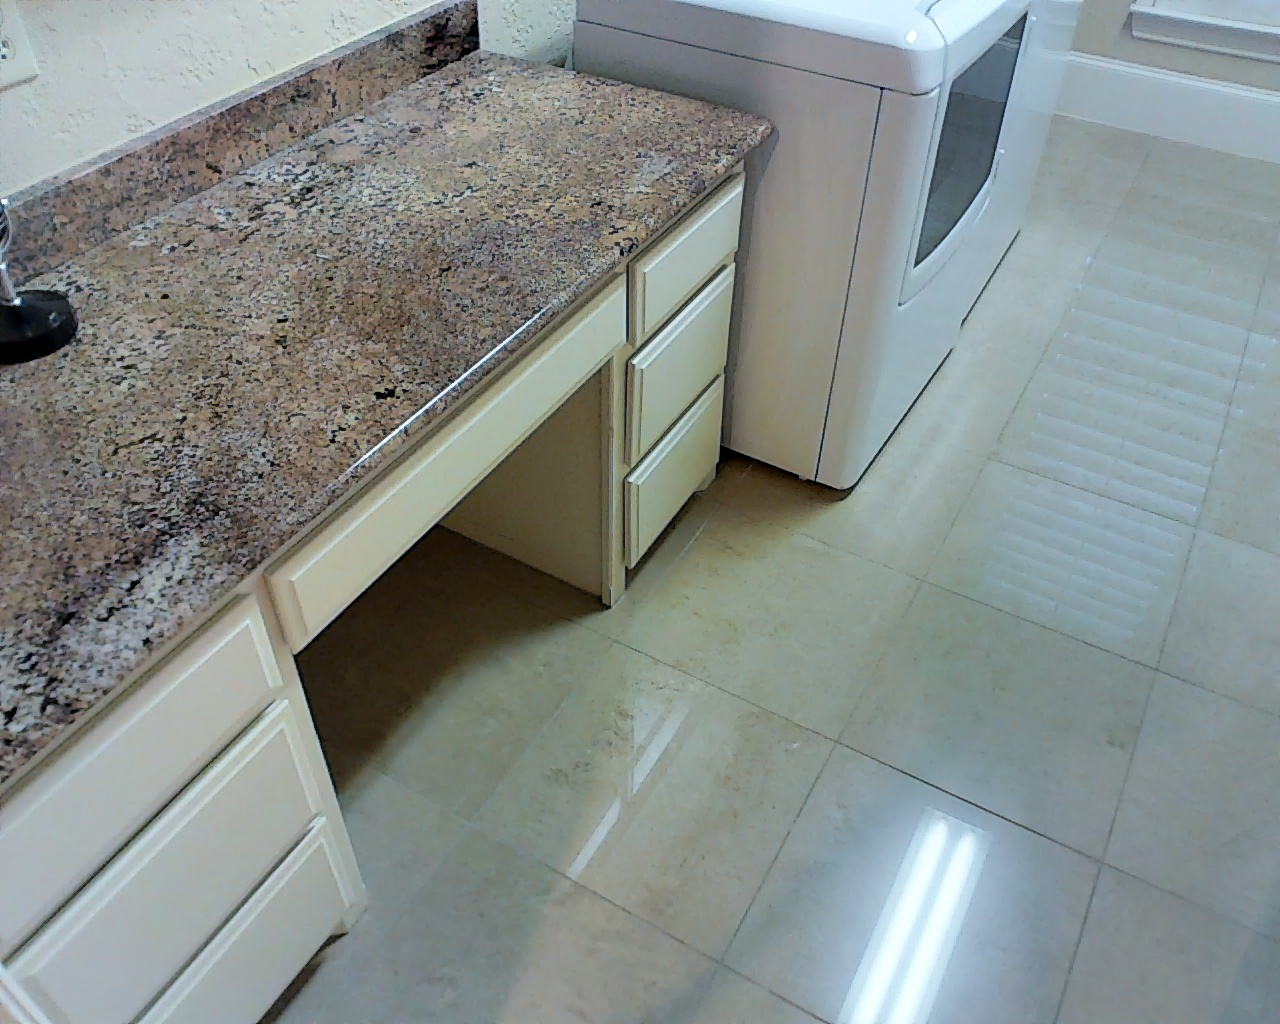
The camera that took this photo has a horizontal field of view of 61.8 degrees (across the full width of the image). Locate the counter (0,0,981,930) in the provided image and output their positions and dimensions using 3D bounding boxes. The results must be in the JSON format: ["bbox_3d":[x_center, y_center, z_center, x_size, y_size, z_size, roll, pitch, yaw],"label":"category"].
[{"bbox_3d":[0.180,-1.080,2.180,0.690,0.340,4.110,21,46,21],"label":"counter"}]

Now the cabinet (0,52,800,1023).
[{"bbox_3d":[-0.430,-0.030,1.770,0.680,0.820,1.620,22,47,22],"label":"cabinet"}]
